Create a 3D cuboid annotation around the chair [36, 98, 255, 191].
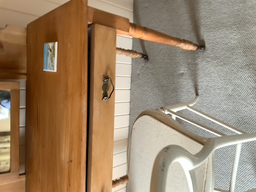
[{"bbox_3d":[0.170,0.270,0.770,0.460,0.810,0.410,17,104,44],"label":"chair"}]
